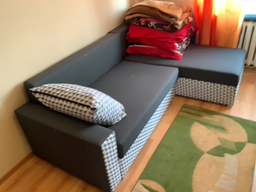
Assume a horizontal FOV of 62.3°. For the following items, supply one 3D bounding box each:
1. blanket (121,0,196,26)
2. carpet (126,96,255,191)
[{"bbox_3d":[0.400,-1.130,2.760,0.810,0.210,0.530,14,40,26],"label":"blanket"},{"bbox_3d":[0.670,0.510,1.850,0.850,0.030,1.480,15,40,27],"label":"carpet"}]
